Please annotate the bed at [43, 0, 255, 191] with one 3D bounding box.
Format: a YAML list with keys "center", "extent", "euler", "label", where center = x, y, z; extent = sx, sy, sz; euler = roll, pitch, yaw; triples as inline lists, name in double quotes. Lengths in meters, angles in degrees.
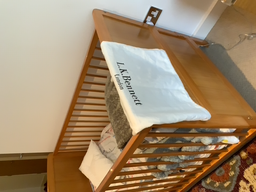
- center: [-0.010, 0.280, 1.490]
  extent: [1.630, 0.840, 0.900]
  euler: [-61, 37, 36]
  label: "bed"
